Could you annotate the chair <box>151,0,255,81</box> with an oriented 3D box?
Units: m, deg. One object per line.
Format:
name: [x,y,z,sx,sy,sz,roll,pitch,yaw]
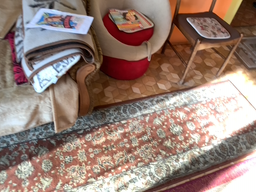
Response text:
chair: [0.590,-0.640,1.810,0.460,0.850,0.540,-8,52,-16]

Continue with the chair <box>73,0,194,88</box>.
chair: [-0.040,-0.580,1.740,0.710,0.710,0.620,-10,52,-17]
